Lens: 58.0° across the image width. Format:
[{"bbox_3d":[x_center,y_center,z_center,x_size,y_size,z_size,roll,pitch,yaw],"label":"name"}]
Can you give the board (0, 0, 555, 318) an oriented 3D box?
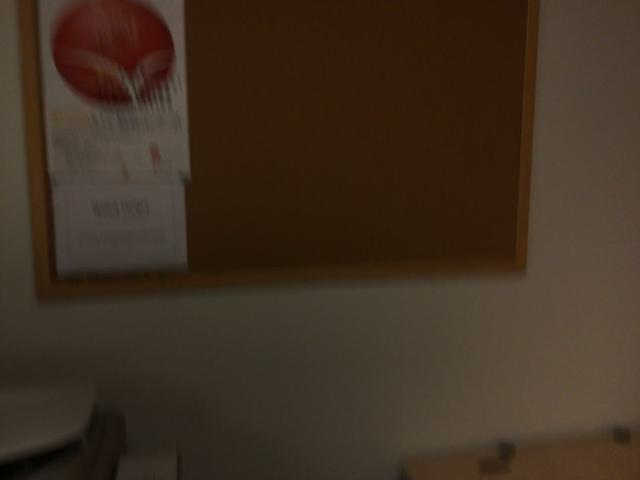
[{"bbox_3d":[-0.040,-0.330,1.310,1.230,0.940,0.060,-2,8,-13],"label":"board"}]
